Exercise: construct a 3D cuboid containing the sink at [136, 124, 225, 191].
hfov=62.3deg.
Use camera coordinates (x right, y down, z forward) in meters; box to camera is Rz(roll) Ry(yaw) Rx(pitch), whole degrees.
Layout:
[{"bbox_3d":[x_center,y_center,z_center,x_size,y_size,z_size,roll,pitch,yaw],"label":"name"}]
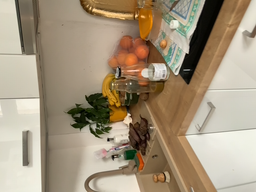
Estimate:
[{"bbox_3d":[0.230,0.440,1.130,0.300,0.200,0.510,-111,26,-46],"label":"sink"}]
